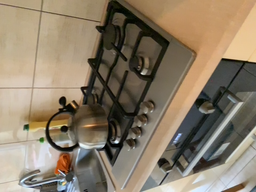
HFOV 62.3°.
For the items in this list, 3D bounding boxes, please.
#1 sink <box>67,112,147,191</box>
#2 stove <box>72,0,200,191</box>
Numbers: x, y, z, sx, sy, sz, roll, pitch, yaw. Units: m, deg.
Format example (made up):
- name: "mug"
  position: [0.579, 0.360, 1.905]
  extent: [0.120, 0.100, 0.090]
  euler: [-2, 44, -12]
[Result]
- name: "sink"
  position: [-0.150, 0.390, 1.140]
  extent: [0.440, 0.170, 0.400]
  euler: [54, 133, 40]
- name: "stove"
  position: [-0.070, -0.030, 0.830]
  extent: [0.580, 0.030, 0.590]
  euler: [54, 133, 40]
